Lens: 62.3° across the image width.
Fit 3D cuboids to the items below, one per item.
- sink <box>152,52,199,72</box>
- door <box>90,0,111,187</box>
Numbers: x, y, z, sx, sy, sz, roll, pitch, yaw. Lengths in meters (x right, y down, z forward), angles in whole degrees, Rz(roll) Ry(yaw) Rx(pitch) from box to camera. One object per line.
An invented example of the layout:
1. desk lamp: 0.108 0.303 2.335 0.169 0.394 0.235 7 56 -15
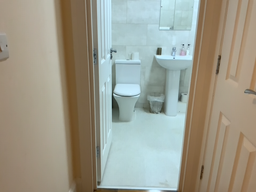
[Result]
1. sink: 0.630 -0.480 2.940 0.560 0.180 0.450 2 18 2
2. door: -0.200 -0.370 1.720 0.030 2.050 0.760 2 18 3
